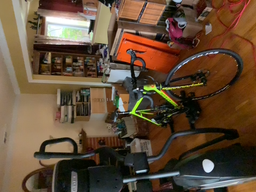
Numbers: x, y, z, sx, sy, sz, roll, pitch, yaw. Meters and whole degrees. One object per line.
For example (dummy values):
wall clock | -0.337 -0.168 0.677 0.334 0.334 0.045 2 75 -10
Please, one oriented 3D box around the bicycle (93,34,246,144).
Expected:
bicycle | 0.260 0.080 2.390 1.510 1.060 0.500 123 145 -58

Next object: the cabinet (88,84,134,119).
cabinet | -0.400 0.140 4.750 0.440 0.920 0.630 120 147 -56
